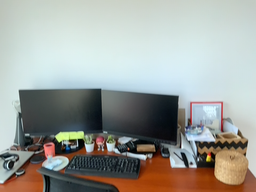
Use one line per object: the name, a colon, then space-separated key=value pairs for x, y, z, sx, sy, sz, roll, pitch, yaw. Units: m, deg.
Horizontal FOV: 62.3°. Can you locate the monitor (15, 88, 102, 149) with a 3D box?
monitor: x=-0.470 y=0.160 z=1.500 sx=0.550 sy=0.410 sz=0.050 roll=-2 pitch=14 yaw=-5

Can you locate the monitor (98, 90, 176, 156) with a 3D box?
monitor: x=0.050 y=0.170 z=1.430 sx=0.520 sy=0.390 sz=0.050 roll=5 pitch=15 yaw=22
